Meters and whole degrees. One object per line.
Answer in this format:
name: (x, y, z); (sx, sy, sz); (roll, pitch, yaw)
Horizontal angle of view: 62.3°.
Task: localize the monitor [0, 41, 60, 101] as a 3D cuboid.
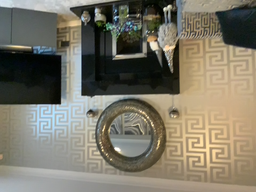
monitor: (-1.540, -0.320, 2.750); (1.240, 0.760, 0.080); (1, 178, -20)
